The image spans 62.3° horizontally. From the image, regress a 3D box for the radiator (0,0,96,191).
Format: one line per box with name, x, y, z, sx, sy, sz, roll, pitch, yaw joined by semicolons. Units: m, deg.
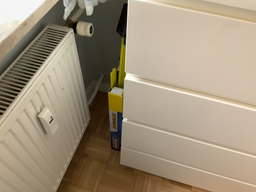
radiator;-0.330;0.120;0.840;0.150;0.730;0.690;12;53;5
